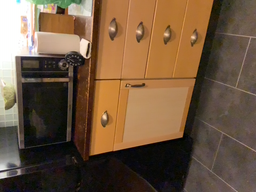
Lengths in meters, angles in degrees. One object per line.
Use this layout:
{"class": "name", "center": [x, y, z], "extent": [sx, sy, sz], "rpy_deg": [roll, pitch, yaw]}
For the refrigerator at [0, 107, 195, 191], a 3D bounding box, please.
{"class": "refrigerator", "center": [-0.430, 0.530, 1.500], "extent": [0.630, 1.730, 0.560], "rpy_deg": [35, 123, 53]}
